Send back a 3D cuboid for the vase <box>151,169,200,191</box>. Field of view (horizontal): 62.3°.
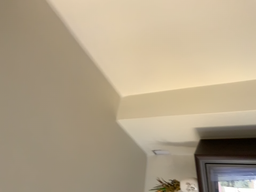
[{"bbox_3d":[0.400,0.730,1.770,0.190,0.360,0.130,-31,-68,-63],"label":"vase"}]
